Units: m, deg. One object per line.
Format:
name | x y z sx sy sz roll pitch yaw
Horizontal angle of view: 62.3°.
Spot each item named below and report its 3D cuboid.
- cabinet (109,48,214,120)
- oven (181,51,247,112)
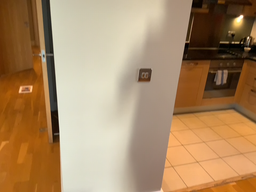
cabinet | 0.450 -0.230 3.230 1.320 0.860 0.670 -3 24 -17
oven | 1.370 -0.270 3.530 0.600 0.830 0.640 -3 24 -17
